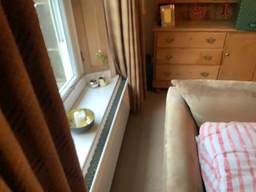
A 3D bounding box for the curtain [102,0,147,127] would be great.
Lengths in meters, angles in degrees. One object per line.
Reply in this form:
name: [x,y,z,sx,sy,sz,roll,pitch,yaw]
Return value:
curtain: [0.000,-0.830,1.900,0.250,2.310,0.680,5,34,11]
